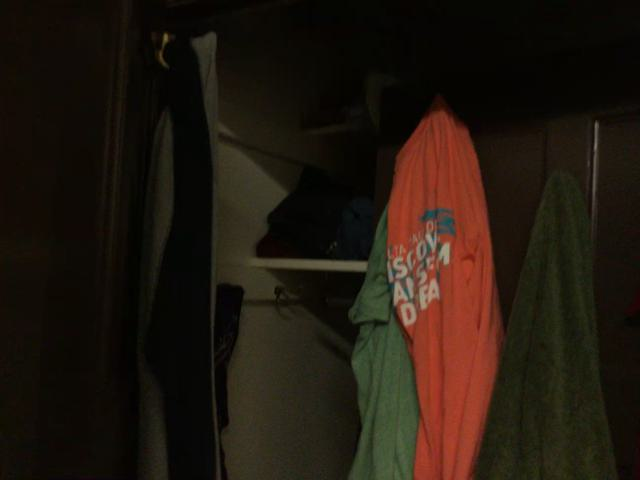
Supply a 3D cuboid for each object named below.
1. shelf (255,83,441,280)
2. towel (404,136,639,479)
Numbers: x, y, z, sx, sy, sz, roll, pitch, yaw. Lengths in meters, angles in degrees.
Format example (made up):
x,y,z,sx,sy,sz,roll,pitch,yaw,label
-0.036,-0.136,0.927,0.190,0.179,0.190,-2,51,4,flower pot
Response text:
x,y,z,sx,sy,sz,roll,pitch,yaw,label
0.100,-0.110,1.490,0.270,0.410,0.510,1,-3,28,shelf
0.310,0.390,0.830,0.330,1.030,0.200,1,-3,28,towel
